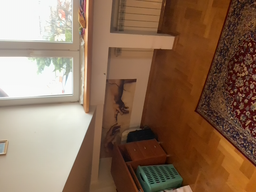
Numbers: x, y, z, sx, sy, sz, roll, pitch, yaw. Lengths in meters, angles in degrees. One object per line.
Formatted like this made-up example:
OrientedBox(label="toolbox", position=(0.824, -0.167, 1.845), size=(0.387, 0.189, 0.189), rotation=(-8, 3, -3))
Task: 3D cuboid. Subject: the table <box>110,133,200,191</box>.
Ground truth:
OrientedBox(label="table", position=(0.280, 1.150, 2.830), size=(1.150, 0.690, 0.650), rotation=(-126, 38, -53))
